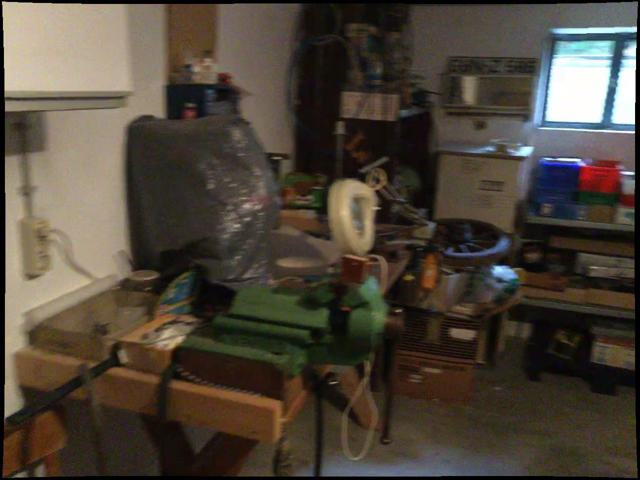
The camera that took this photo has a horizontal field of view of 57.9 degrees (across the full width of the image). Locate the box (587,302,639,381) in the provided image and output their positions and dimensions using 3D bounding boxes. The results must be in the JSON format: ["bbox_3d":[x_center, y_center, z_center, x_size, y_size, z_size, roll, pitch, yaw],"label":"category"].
[{"bbox_3d":[1.698,0.541,3.010,0.510,0.230,0.400,7,18,20],"label":"box"}]

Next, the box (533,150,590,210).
[{"bbox_3d":[1.329,-0.340,3.200,0.250,0.260,0.340,7,18,20],"label":"box"}]

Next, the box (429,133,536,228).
[{"bbox_3d":[0.939,-0.360,3.330,0.520,0.440,0.400,7,18,20],"label":"box"}]

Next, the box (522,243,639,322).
[{"bbox_3d":[1.489,0.220,3.120,0.719,0.200,0.500,7,18,20],"label":"box"}]

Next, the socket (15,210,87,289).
[{"bbox_3d":[-0.669,0.020,1.450,0.070,0.160,0.140,7,18,20],"label":"socket"}]
